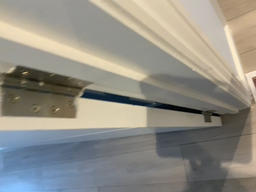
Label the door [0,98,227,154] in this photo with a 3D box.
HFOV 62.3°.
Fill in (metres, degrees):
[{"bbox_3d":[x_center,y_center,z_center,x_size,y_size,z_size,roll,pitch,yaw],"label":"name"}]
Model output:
[{"bbox_3d":[-0.400,0.110,0.440,0.800,1.920,0.040,-14,76,32],"label":"door"}]
